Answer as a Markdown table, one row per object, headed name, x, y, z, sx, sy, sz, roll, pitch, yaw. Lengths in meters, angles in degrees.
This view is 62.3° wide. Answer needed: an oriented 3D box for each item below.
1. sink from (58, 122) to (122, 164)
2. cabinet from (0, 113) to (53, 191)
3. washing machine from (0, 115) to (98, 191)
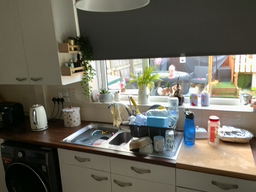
| name | x | y | z | sx | sy | sz | roll | pitch | yaw |
| --- | --- | --- | --- | --- | --- | --- | --- | --- | --- |
| sink | -0.330 | 0.410 | 1.980 | 0.360 | 0.150 | 0.500 | 2 | 13 | 23 |
| cabinet | -1.460 | 0.730 | 2.570 | 0.790 | 0.880 | 0.530 | 2 | 13 | 23 |
| washing machine | -0.810 | 0.760 | 2.230 | 0.670 | 0.910 | 0.660 | 2 | 13 | 23 |
